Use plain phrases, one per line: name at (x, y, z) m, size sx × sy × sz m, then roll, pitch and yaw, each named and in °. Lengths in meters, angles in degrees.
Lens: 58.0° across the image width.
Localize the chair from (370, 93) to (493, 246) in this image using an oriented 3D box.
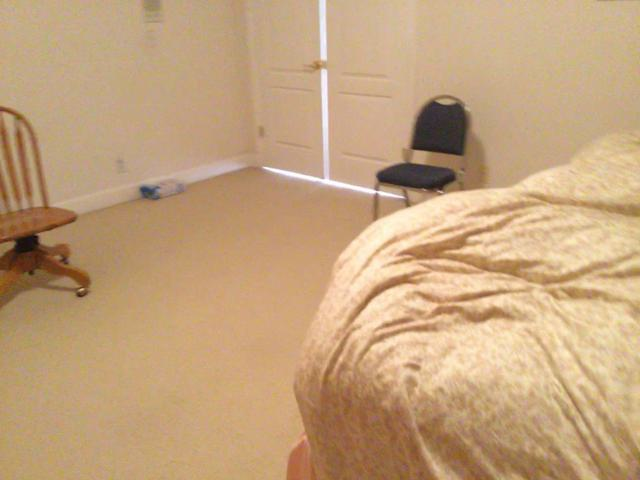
chair at (0.630, -0.430, 3.320) m, size 0.430 × 0.700 × 0.550 m, roll 20°, pitch 32°, yaw 39°

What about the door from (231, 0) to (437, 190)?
door at (0.030, -1.360, 4.120) m, size 1.580 × 1.730 × 0.250 m, roll 17°, pitch 27°, yaw 34°

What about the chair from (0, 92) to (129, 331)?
chair at (-1.430, -0.180, 2.880) m, size 0.640 × 0.960 × 0.520 m, roll 20°, pitch 32°, yaw 39°
